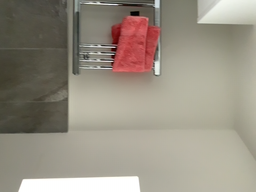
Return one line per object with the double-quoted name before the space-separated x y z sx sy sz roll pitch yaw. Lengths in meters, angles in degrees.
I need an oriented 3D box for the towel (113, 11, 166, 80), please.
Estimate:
"towel" 0.060 -0.270 1.190 0.280 0.350 0.120 0 178 -7
